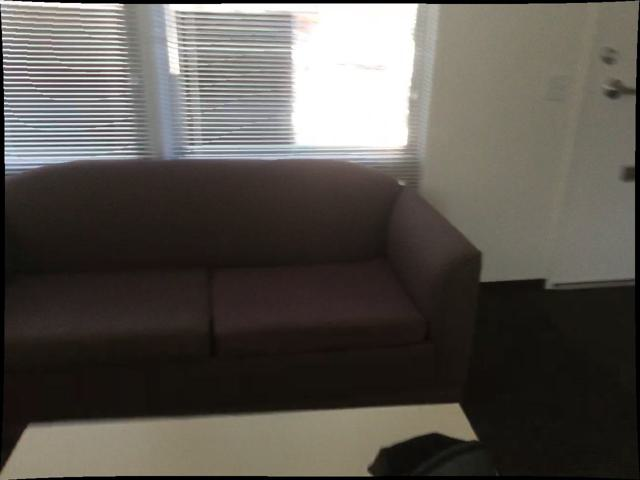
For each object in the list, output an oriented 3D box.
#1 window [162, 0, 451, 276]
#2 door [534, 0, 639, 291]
[{"bbox_3d":[-0.070,-0.861,2.530,1.148,2.013,0.410,-2,24,-9],"label":"window"},{"bbox_3d":[1.667,-0.701,2.710,0.998,2.033,0.080,-2,24,-9],"label":"door"}]
